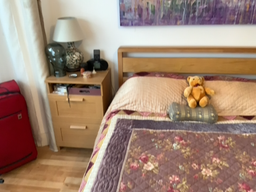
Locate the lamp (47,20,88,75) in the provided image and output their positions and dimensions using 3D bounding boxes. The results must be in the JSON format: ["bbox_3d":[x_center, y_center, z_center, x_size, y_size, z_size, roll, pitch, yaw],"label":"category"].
[{"bbox_3d":[-0.550,-0.460,1.990,0.230,0.460,0.260,1,25,6],"label":"lamp"}]

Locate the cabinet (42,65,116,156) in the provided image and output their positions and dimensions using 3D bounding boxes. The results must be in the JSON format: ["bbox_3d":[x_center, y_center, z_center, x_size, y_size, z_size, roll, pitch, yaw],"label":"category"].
[{"bbox_3d":[-0.440,0.130,2.160,0.540,0.790,0.450,1,25,6],"label":"cabinet"}]
